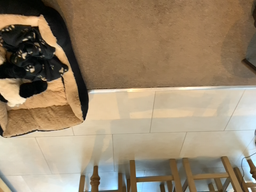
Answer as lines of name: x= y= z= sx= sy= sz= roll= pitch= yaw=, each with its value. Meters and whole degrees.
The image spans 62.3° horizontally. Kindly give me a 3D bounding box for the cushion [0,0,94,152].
cushion: x=-0.570 y=-0.070 z=1.120 sx=0.630 sy=0.220 sz=0.930 roll=-4 pitch=134 yaw=-1
